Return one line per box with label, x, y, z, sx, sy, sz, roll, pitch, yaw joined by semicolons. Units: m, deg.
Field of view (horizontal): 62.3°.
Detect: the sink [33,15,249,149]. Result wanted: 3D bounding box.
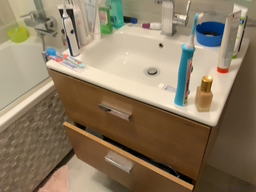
sink;0.050;-0.130;0.810;0.650;0.110;0.450;20;47;26
